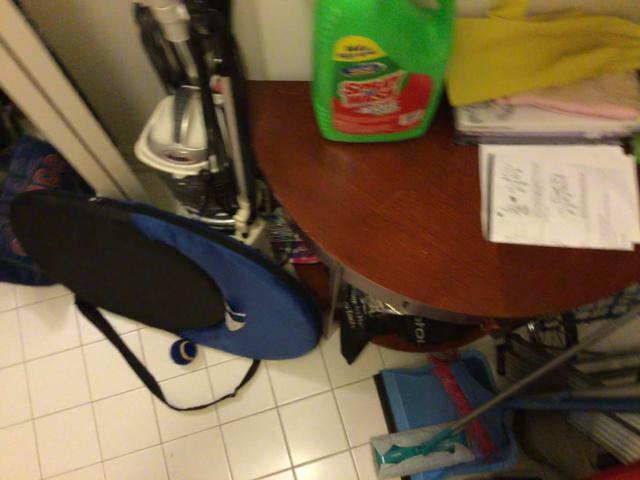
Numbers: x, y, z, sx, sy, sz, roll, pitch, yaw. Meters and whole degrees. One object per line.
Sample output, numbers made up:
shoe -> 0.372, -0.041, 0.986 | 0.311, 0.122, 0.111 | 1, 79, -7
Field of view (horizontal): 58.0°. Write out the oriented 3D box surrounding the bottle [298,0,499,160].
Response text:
bottle -> 0.080, -0.260, 0.740 | 0.180, 0.310, 0.150 | -16, 73, -6

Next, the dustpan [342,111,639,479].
dustpan -> 0.360, 0.240, 0.970 | 0.490, 1.130, 0.410 | -16, 73, -6

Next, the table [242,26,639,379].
table -> 0.230, 0.020, 1.200 | 0.670, 0.820, 0.460 | 0, 72, -1
